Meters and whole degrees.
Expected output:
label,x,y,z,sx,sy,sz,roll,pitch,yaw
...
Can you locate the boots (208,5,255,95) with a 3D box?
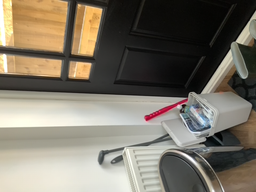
label,x,y,z,sx,sy,sz,roll,pitch,yaw
boots,0.710,-0.220,1.110,0.280,0.340,0.330,-110,32,-41
